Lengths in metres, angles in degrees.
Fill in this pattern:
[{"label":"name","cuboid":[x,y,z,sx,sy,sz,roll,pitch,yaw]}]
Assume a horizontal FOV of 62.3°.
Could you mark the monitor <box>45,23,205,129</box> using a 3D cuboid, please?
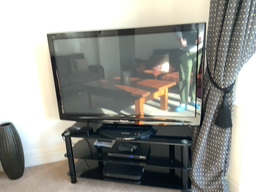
[{"label":"monitor","cuboid":[-0.050,-0.130,1.670,1.200,0.760,0.050,1,16,14]}]
